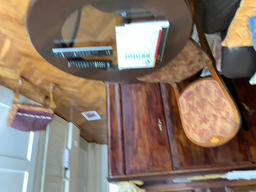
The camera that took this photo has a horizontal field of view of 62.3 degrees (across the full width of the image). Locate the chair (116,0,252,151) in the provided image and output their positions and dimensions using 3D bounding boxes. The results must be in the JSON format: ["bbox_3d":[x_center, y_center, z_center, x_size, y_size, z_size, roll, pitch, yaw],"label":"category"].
[{"bbox_3d":[0.280,-0.160,1.290,0.520,0.870,0.420,14,149,-33],"label":"chair"}]
